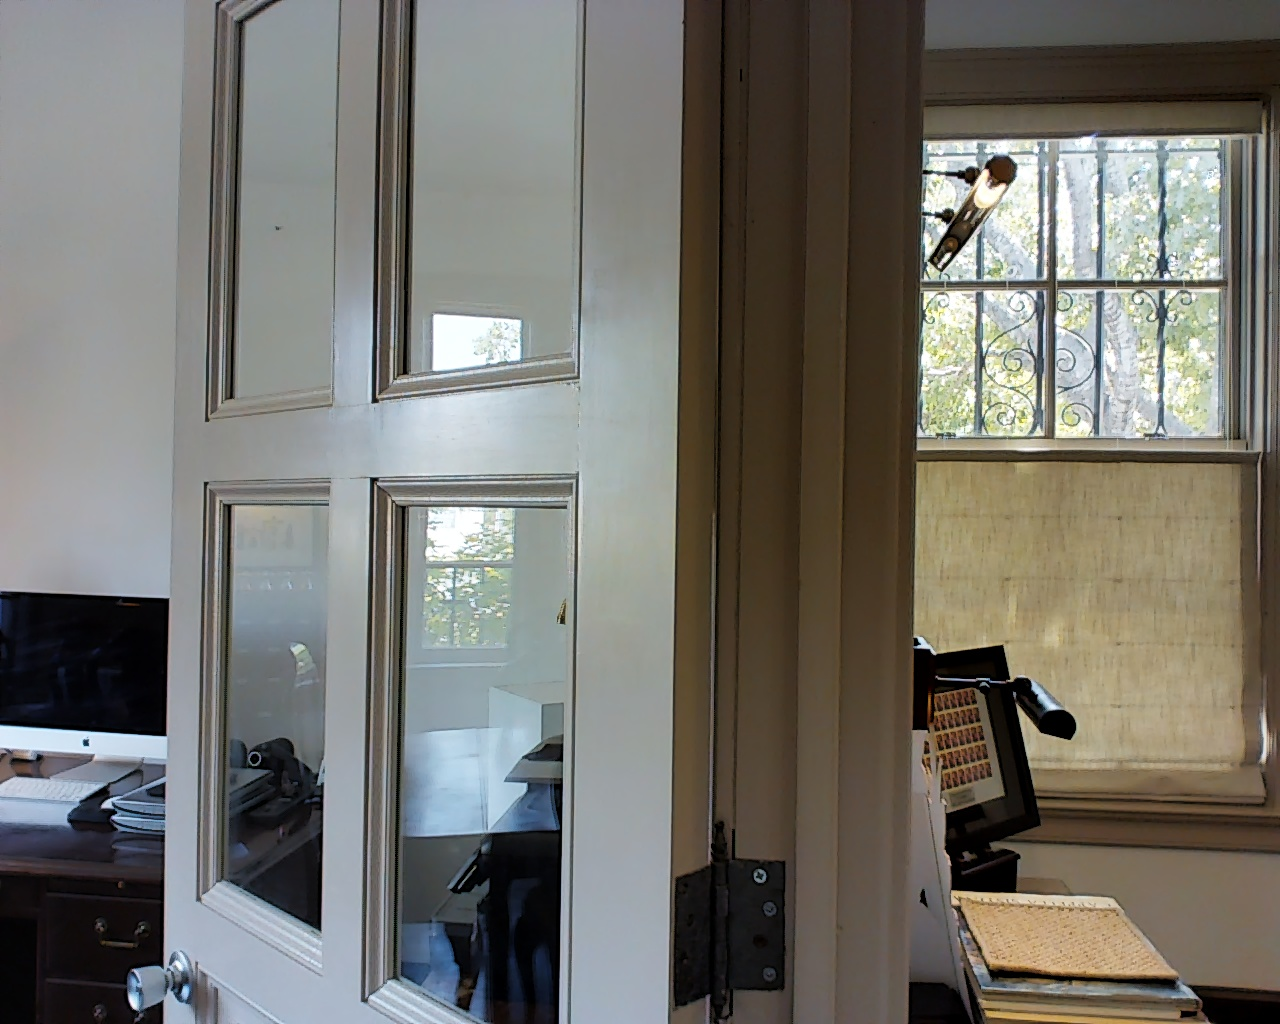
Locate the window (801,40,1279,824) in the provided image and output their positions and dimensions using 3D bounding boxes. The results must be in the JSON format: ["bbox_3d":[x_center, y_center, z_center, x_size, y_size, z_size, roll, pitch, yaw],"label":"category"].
[{"bbox_3d":[1.170,-0.220,3.120,1.360,2.100,0.350,1,0,7],"label":"window"}]
